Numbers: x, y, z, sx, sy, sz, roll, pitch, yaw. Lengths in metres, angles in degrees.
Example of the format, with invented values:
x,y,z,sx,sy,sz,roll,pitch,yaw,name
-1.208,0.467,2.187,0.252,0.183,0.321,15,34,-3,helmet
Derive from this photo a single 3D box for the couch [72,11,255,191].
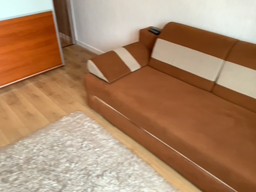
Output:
x,y,z,sx,sy,sz,roll,pitch,yaw,name
0.600,0.030,1.730,0.970,0.820,2.150,-29,45,-35,couch
